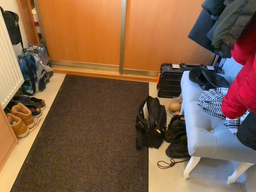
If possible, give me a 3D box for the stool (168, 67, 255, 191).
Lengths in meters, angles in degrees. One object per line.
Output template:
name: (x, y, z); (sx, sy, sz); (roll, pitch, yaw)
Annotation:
stool: (0.530, 0.220, 1.390); (0.430, 0.490, 0.640); (7, 43, 2)
